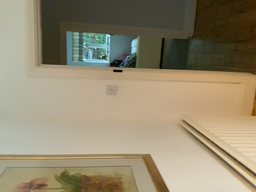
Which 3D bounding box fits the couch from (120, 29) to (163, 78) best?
[{"bbox_3d":[0.270,-0.990,5.050,1.080,0.750,0.980,-132,44,-76],"label":"couch"}]
